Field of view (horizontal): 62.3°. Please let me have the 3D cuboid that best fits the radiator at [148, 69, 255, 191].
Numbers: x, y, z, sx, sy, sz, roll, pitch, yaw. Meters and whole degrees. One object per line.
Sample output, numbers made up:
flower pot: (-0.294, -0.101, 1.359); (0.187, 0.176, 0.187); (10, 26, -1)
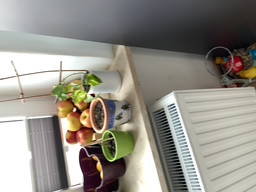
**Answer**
radiator: (0.490, 0.260, 0.940); (0.150, 0.700, 0.730); (-33, 65, 51)
